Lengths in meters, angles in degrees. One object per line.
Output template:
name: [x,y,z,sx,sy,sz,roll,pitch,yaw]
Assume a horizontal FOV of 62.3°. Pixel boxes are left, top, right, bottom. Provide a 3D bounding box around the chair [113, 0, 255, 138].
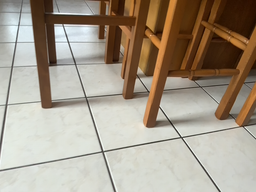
chair: [0.250,-0.340,0.730,0.420,0.880,0.400,-5,38,-20]
